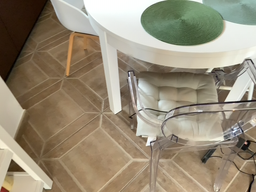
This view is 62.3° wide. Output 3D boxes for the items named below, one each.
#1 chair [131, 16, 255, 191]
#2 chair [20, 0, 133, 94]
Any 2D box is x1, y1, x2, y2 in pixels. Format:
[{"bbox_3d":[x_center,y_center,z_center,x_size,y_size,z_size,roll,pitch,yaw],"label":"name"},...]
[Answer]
[{"bbox_3d":[0.230,0.100,1.070,0.390,0.800,0.480,4,51,4],"label":"chair"},{"bbox_3d":[-0.300,-0.540,1.600,0.500,0.780,0.590,16,53,13],"label":"chair"}]
